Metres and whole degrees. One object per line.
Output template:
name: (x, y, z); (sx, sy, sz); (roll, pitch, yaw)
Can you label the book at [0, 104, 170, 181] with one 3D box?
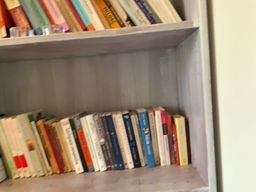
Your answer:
book: (-0.190, 0.170, 0.840); (0.670, 0.200, 0.290); (-4, 4, 8)
